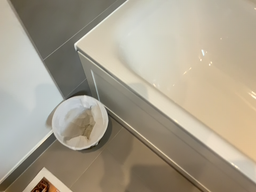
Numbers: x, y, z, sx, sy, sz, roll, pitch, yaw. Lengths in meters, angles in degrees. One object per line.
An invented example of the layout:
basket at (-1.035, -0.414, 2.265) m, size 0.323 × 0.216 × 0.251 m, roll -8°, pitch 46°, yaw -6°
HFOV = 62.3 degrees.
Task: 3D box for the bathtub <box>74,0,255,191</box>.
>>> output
bathtub at (0.650, 0.180, 0.950) m, size 1.660 × 0.570 × 0.690 m, roll 38°, pitch 69°, yaw 14°

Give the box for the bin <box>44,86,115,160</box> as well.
bin at (-0.230, 0.150, 1.100) m, size 0.220 × 0.260 × 0.230 m, roll 38°, pitch 69°, yaw 14°
